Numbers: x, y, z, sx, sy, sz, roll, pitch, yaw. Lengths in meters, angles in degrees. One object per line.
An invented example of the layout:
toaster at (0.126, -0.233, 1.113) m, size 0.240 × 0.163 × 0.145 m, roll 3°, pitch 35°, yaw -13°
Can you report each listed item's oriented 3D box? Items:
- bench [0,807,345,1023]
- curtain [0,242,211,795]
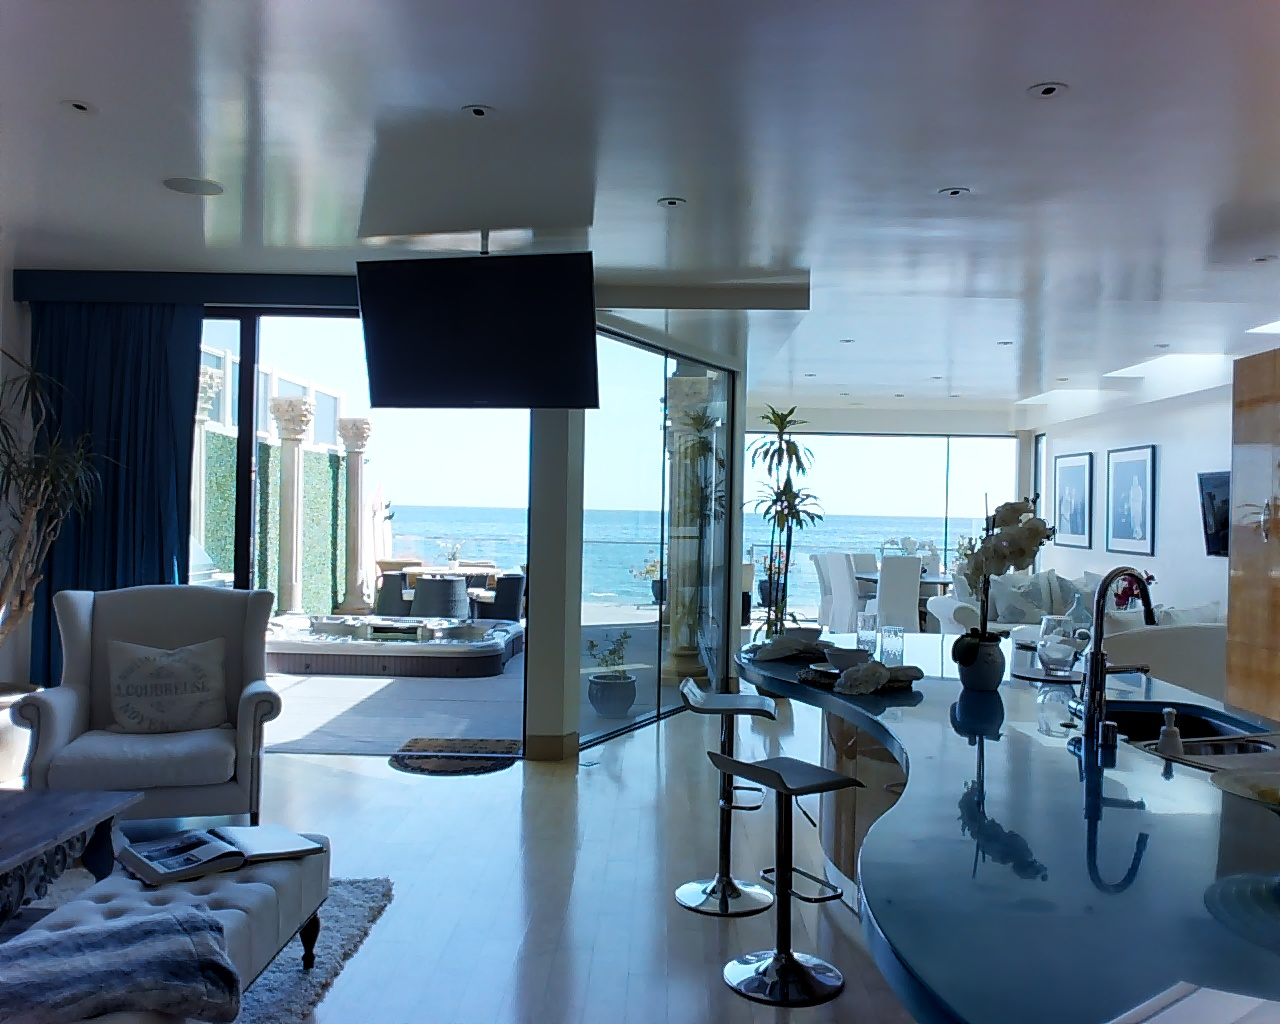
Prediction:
bench at (-1.279, 1.231, 2.840) m, size 0.550 × 0.480 × 1.460 m, roll 1°, pitch 0°, yaw 2°
curtain at (-3.239, 0.030, 6.320) m, size 1.239 × 3.131 × 0.370 m, roll 1°, pitch 0°, yaw 3°
